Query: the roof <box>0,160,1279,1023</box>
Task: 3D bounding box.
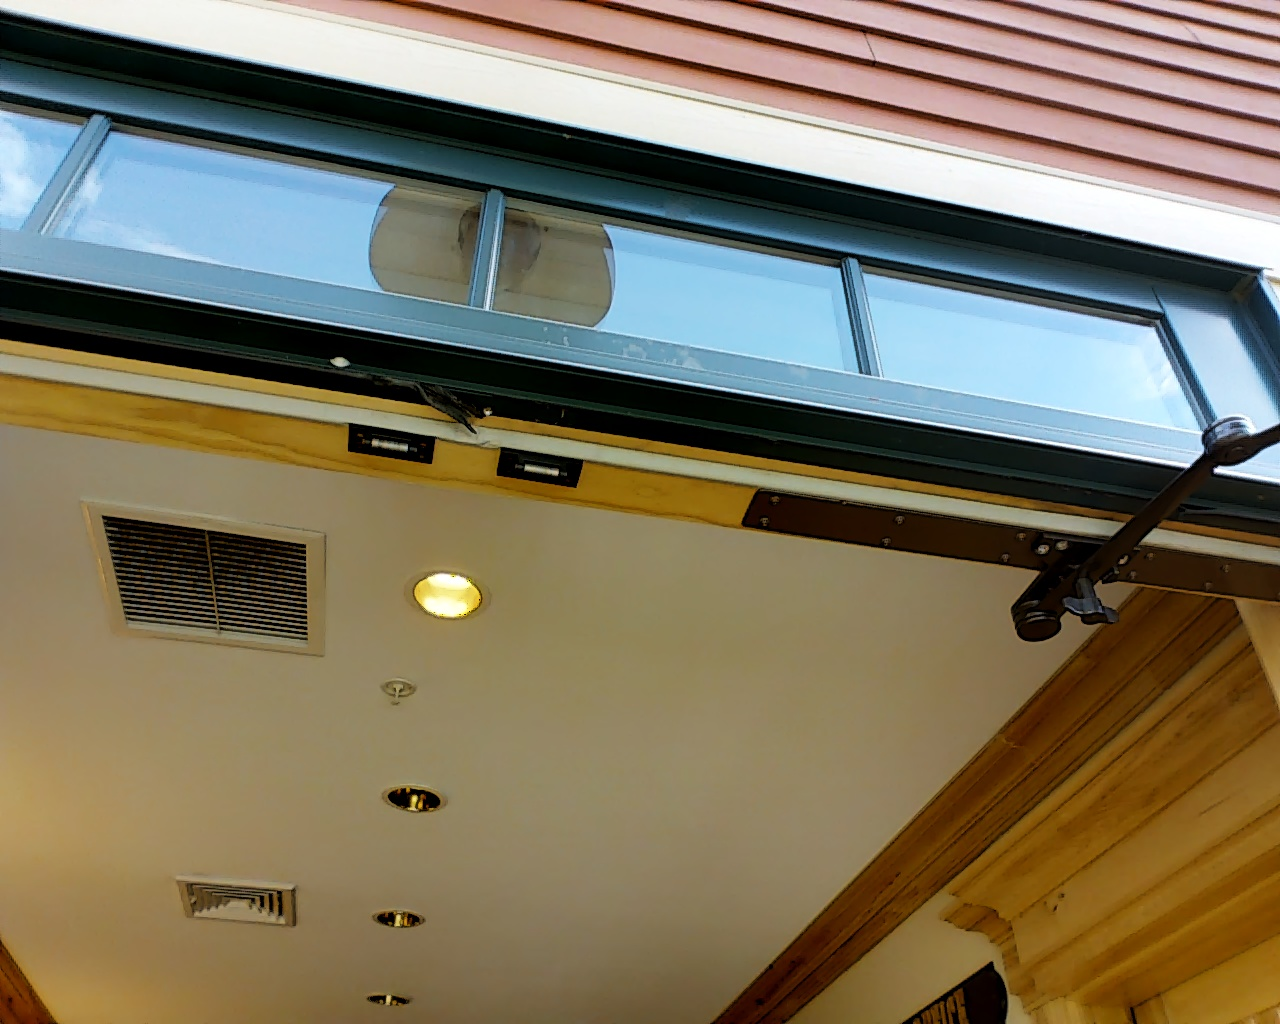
[{"bbox_3d":[-0.700,1.111,3.070,2.539,0.250,4.431,9,-40,-10],"label":"roof"}]
